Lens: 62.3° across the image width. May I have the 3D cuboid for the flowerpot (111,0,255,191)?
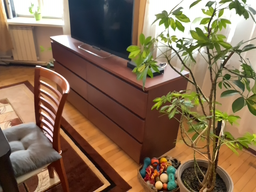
[{"bbox_3d":[0.400,0.160,1.340,0.870,1.380,0.480,-16,35,-31],"label":"flowerpot"}]

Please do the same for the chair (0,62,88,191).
[{"bbox_3d":[-0.610,0.330,1.290,0.540,0.900,0.430,-20,36,-36],"label":"chair"}]
